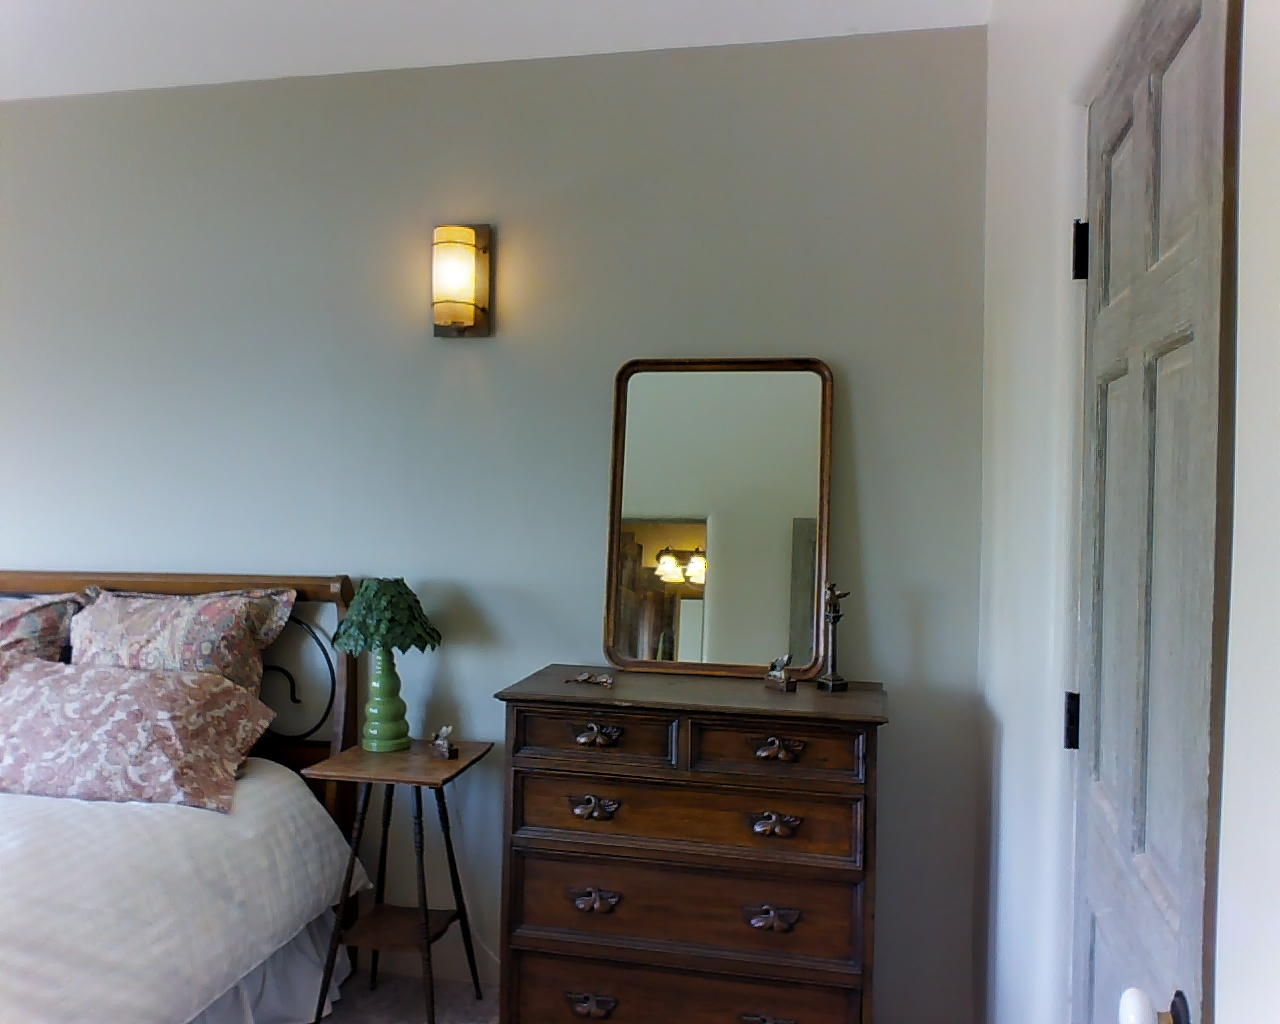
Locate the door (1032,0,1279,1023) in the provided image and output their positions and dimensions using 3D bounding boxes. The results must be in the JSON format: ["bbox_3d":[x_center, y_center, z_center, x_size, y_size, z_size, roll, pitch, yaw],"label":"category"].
[{"bbox_3d":[0.580,0.370,1.310,0.060,2.081,0.810,1,1,12],"label":"door"}]
